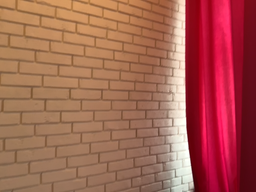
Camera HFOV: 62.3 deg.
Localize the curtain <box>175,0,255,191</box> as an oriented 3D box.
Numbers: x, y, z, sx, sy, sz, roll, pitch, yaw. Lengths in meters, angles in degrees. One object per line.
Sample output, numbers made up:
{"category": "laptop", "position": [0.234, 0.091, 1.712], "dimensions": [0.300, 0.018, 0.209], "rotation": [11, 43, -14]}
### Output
{"category": "curtain", "position": [0.710, -0.390, 1.640], "dimensions": [0.270, 2.880, 0.680], "rotation": [2, -2, -30]}
